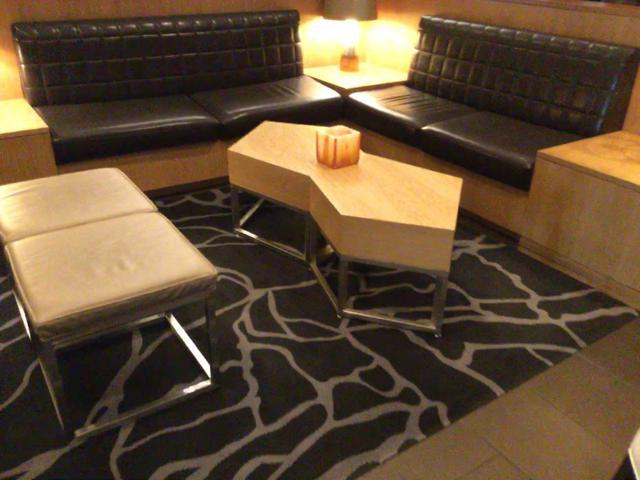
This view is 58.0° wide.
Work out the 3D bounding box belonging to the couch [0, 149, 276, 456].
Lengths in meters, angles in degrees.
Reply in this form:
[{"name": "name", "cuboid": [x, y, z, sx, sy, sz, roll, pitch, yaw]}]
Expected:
[{"name": "couch", "cuboid": [-0.720, 0.100, 2.030, 0.670, 0.470, 1.050, -18, 31, -28]}]
